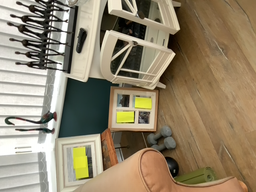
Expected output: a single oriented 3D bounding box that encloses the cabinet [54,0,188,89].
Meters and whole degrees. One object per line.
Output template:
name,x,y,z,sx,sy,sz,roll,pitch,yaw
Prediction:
cabinet,-0.050,-0.430,1.400,0.460,0.640,0.630,24,106,50
